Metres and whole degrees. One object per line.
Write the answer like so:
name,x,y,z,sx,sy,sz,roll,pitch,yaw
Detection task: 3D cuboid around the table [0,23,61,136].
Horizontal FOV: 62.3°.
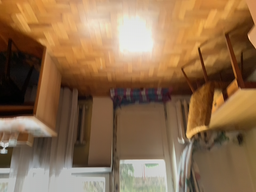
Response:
table,-1.400,-0.130,2.190,1.120,0.920,0.720,-1,155,-1
